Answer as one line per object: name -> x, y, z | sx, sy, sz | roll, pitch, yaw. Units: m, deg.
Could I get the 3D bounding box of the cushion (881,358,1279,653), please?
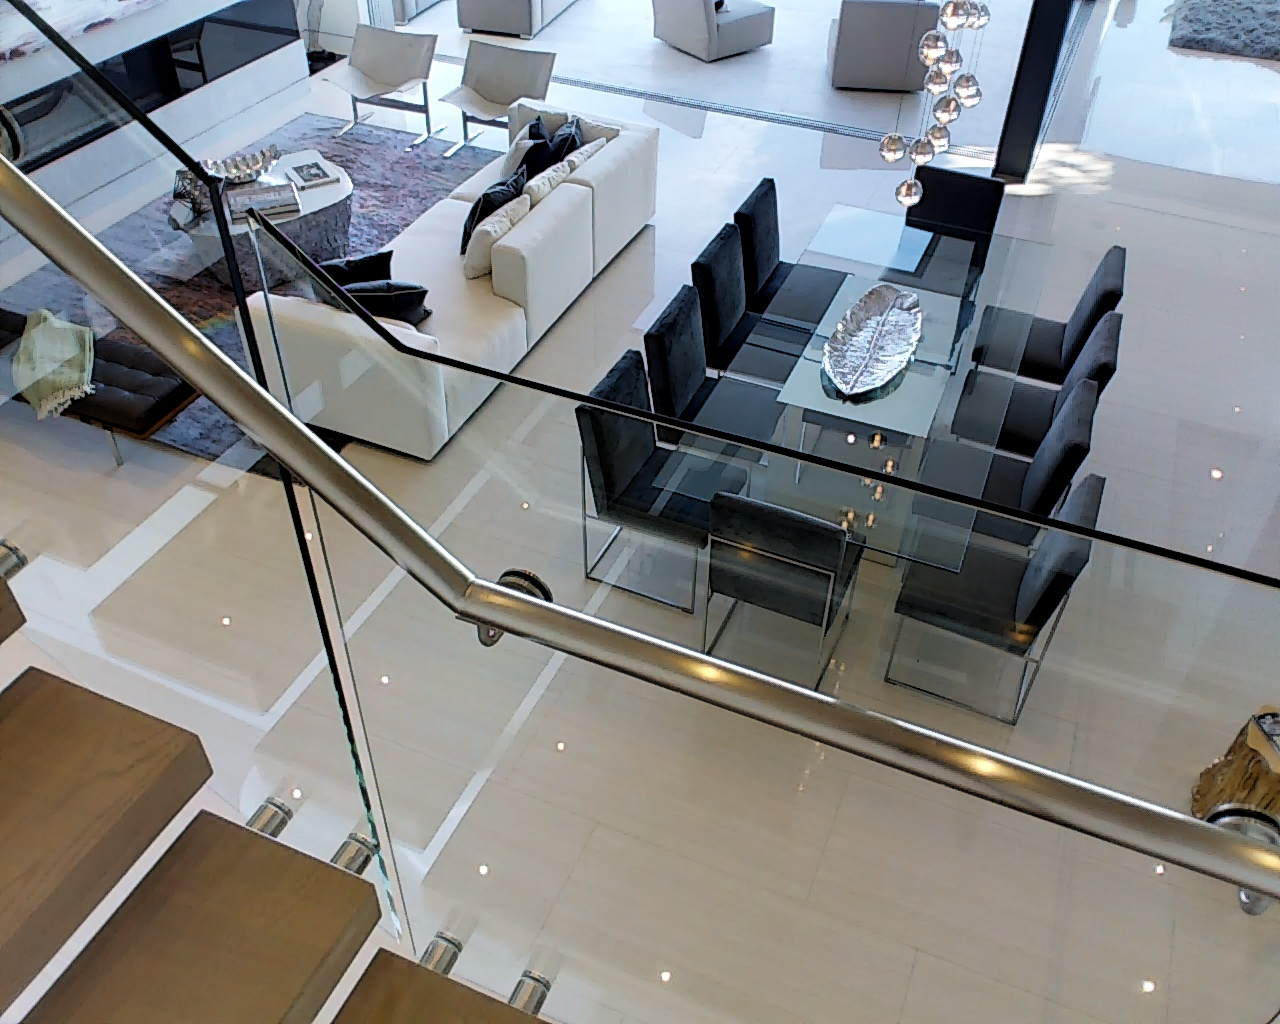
cushion -> 2.020, -0.040, 4.420 | 1.820, 0.430, 0.820 | 16, 44, 17

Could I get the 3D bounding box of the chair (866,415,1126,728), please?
chair -> 1.390, 0.240, 4.280 | 0.710, 0.960, 0.560 | 16, 44, 17

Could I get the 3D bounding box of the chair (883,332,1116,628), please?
chair -> 1.550, -0.140, 4.700 | 0.680, 0.980, 0.620 | 16, 44, 17

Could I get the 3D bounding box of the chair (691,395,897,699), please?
chair -> 0.610, 0.140, 4.350 | 0.560, 0.900, 0.670 | 16, 44, 17

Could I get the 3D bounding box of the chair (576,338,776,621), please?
chair -> 0.150, -0.140, 4.720 | 0.650, 0.950, 0.580 | 16, 44, 17
